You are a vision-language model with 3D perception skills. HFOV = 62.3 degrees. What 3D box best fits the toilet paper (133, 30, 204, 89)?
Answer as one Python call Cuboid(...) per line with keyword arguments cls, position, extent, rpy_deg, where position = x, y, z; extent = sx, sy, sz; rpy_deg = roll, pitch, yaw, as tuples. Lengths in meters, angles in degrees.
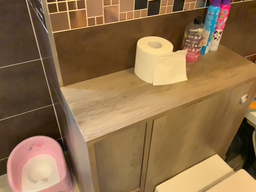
Cuboid(cls="toilet paper", position=(0.130, -0.130, 0.720), extent=(0.180, 0.120, 0.130), rpy_deg=(-18, 43, -23))
